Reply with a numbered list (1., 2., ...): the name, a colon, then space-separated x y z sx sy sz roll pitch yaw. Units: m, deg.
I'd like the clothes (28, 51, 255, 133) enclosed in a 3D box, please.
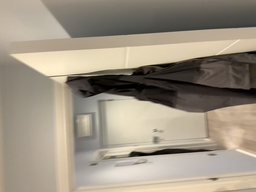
1. clothes: 0.270 -0.020 1.090 0.550 1.300 0.260 139 128 -86
